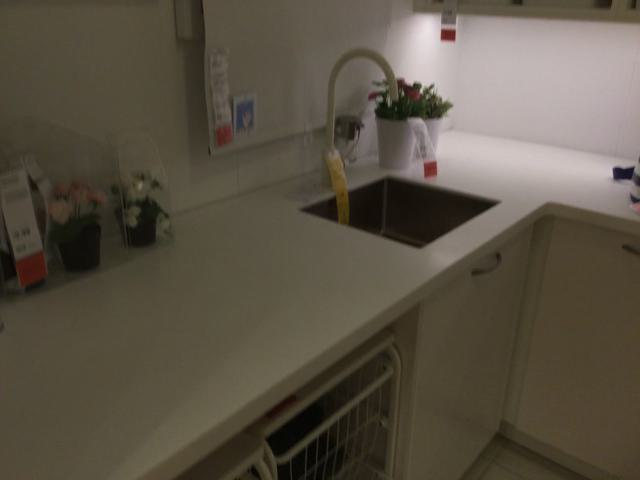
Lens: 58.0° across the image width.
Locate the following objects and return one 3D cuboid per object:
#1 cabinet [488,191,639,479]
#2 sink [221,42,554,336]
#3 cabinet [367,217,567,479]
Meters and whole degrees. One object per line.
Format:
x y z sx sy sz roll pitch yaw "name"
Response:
0.830 0.370 1.590 0.150 0.910 0.700 -20 24 -40 "cabinet"
0.180 -0.200 1.560 0.580 0.580 0.610 -20 24 -40 "sink"
0.410 0.420 1.530 0.660 0.820 0.130 -20 24 -40 "cabinet"
